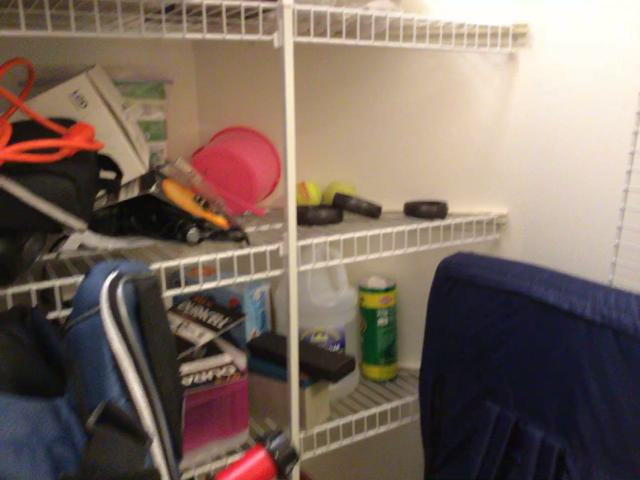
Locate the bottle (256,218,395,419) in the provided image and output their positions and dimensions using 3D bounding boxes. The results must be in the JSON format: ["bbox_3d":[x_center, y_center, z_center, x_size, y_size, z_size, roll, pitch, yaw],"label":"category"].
[{"bbox_3d":[0.010,0.130,1.050,0.180,0.290,0.170,-10,18,-30],"label":"bottle"}]
